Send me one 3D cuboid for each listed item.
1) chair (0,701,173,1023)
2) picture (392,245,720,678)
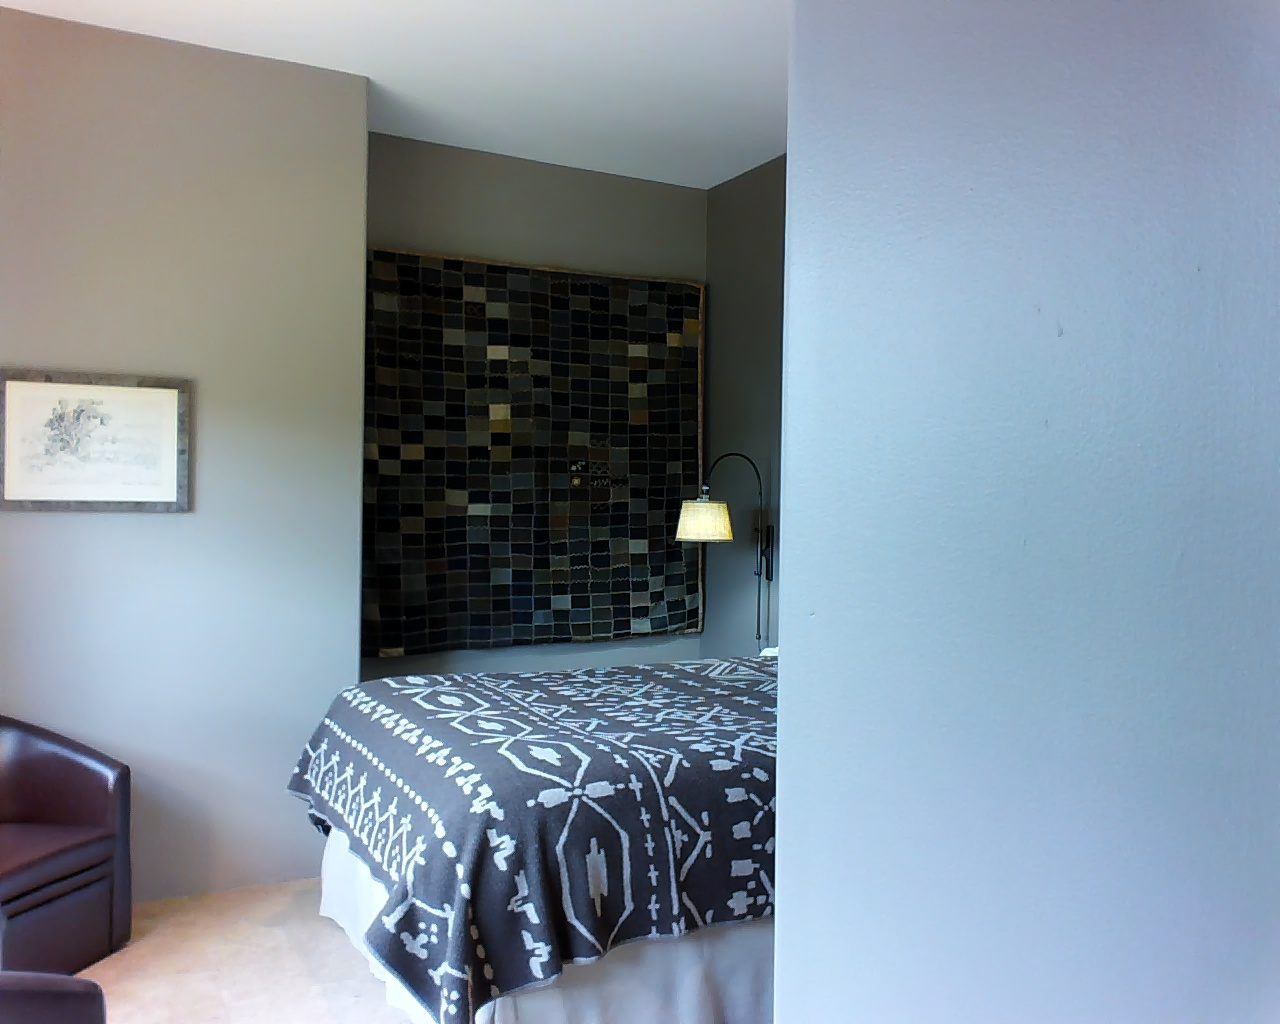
[{"bbox_3d":[-1.970,1.040,3.180,0.740,0.780,0.770,1,1,16],"label":"chair"},{"bbox_3d":[-0.350,-0.210,5.110,1.610,1.880,0.150,1,1,-29],"label":"picture"}]
